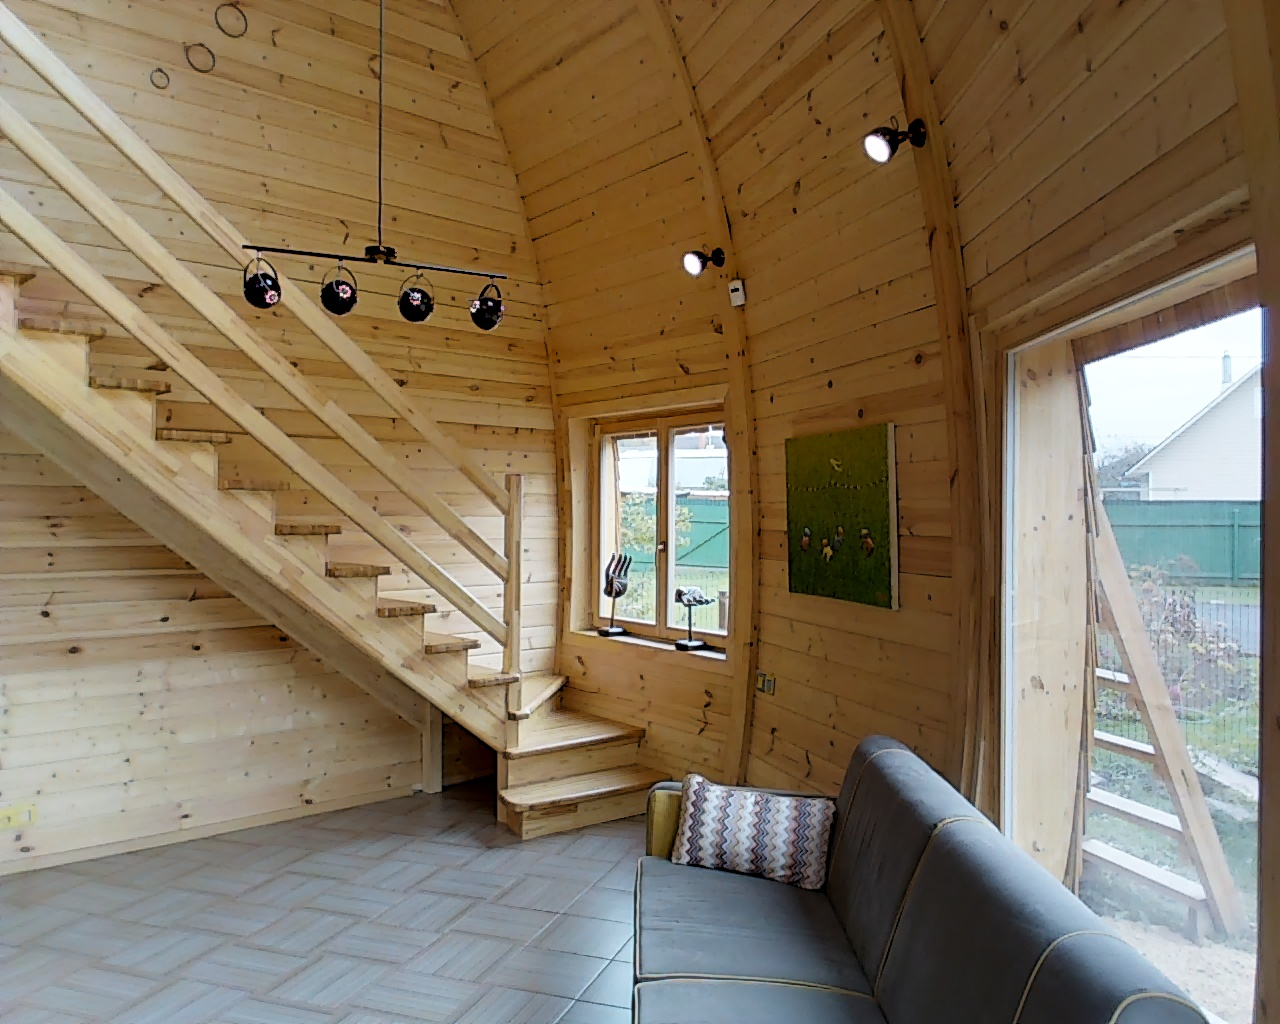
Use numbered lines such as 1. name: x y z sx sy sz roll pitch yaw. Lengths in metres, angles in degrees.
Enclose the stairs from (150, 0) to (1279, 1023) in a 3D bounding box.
1. stairs: 0.240 0.060 2.820 1.410 0.480 4.930 1 -39 -44
